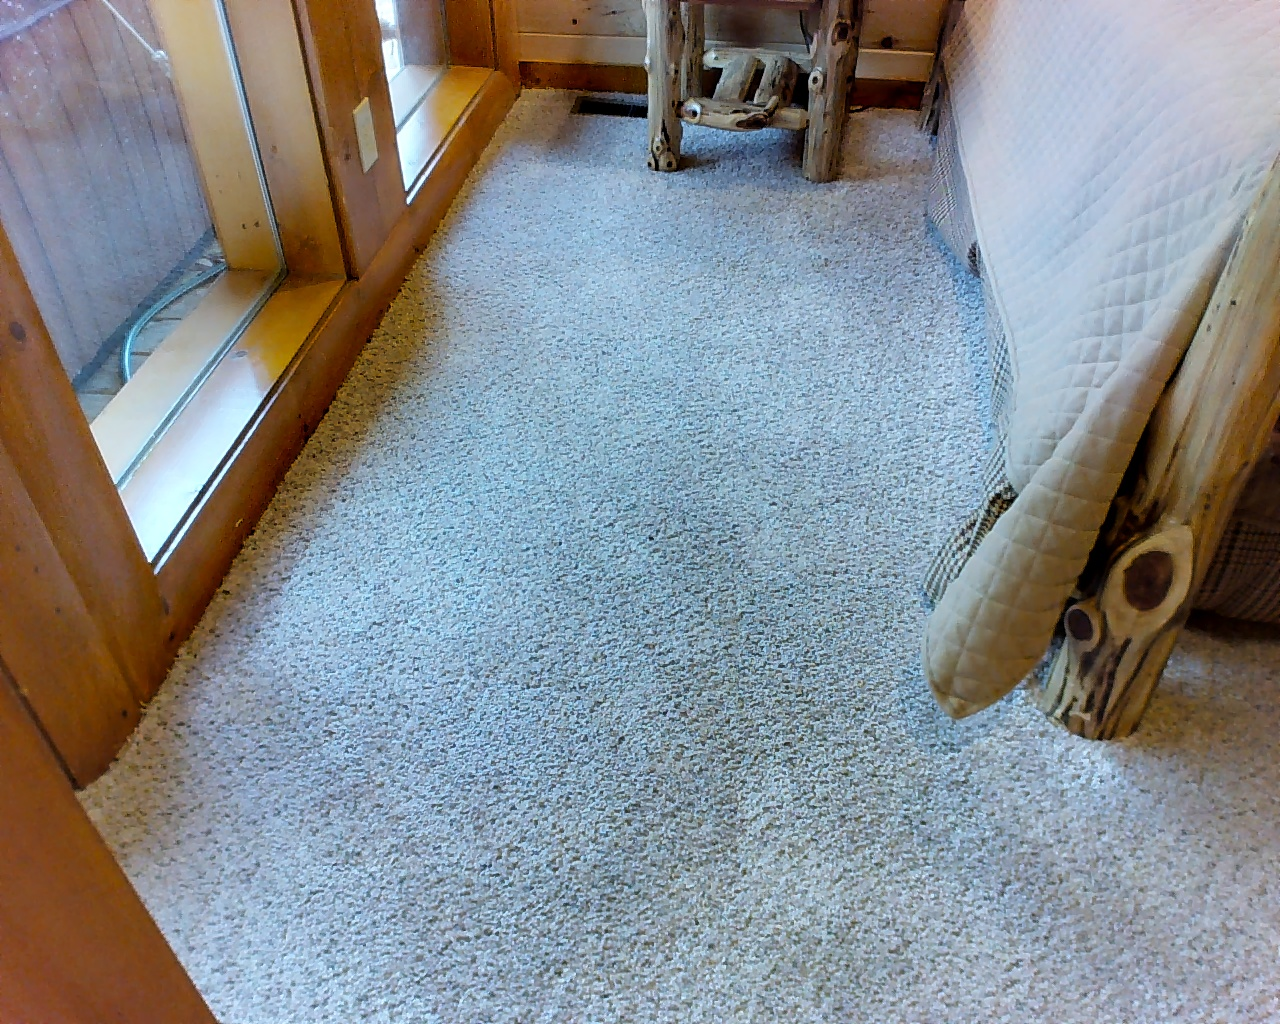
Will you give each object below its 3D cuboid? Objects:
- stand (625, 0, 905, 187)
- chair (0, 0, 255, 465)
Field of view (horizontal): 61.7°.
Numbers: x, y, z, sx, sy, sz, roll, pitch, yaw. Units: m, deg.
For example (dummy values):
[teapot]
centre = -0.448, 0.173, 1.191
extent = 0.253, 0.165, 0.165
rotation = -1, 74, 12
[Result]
[stand]
centre = 0.320, -1.290, 2.730
extent = 0.630, 0.650, 0.620
rotation = 5, 42, 6
[chair]
centre = -1.070, -0.680, 2.010
extent = 0.160, 0.830, 0.840
rotation = 5, 42, 6
